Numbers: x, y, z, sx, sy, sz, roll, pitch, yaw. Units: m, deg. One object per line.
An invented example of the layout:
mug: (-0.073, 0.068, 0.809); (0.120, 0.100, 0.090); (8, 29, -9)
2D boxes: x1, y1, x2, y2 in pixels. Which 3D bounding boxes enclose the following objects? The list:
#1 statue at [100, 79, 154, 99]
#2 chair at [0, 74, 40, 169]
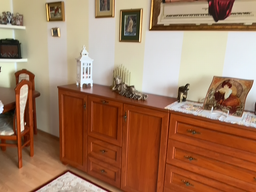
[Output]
statue: (-0.010, -0.080, 2.170); (0.470, 0.090, 0.290); (11, 16, 31)
chair: (-1.460, 0.280, 2.540); (0.580, 1.000, 0.480); (3, 13, -2)
